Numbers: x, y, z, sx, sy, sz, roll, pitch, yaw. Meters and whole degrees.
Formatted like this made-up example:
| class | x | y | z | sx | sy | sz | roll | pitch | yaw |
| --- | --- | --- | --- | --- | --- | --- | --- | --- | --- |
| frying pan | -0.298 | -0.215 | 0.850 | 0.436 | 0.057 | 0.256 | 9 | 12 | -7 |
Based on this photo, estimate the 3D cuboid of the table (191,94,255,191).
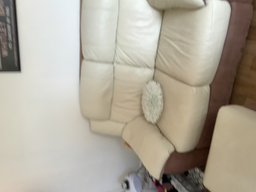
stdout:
| class | x | y | z | sx | sy | sz | roll | pitch | yaw |
| --- | --- | --- | --- | --- | --- | --- | --- | --- | --- |
| table | 0.820 | 0.390 | 1.180 | 0.670 | 0.490 | 0.600 | 37 | 126 | 57 |
